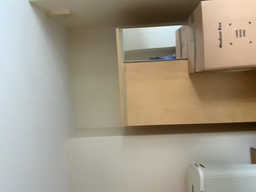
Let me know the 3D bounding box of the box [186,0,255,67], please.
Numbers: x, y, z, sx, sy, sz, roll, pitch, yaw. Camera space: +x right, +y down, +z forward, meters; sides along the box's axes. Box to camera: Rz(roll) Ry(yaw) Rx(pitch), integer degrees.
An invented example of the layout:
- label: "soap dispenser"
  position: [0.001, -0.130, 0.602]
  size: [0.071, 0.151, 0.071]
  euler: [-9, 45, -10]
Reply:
- label: "box"
  position: [0.780, -0.490, 1.430]
  size: [0.450, 0.650, 0.520]
  euler: [-63, -30, -85]
